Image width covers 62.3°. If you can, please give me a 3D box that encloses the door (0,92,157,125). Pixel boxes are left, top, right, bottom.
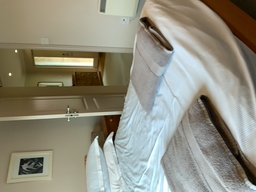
[{"bbox_3d":[-0.790,0.120,2.710,2.120,0.180,0.900,-1,9,-17],"label":"door"}]

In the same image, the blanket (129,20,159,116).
[{"bbox_3d":[0.090,-0.200,1.290,0.100,0.480,0.450,6,21,2],"label":"blanket"}]

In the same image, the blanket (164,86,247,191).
[{"bbox_3d":[0.250,0.270,0.840,0.090,0.500,0.440,6,21,1],"label":"blanket"}]
